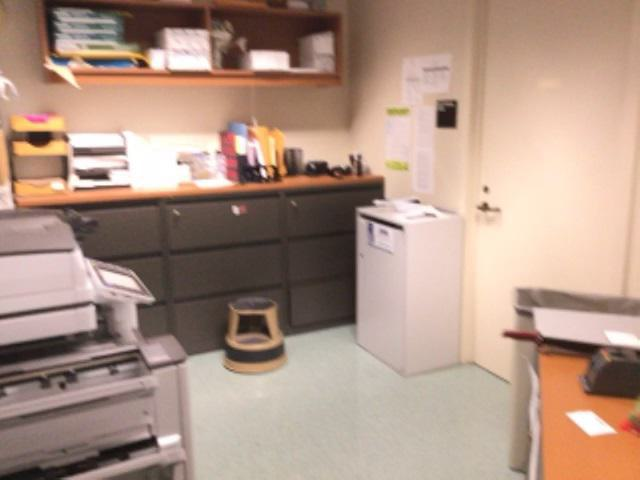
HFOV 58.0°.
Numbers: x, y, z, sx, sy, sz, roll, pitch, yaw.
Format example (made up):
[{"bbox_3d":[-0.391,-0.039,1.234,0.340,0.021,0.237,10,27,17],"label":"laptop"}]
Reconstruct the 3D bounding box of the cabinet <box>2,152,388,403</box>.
[{"bbox_3d":[-0.660,0.110,3.680,2.240,1.150,0.530,-9,14,-26],"label":"cabinet"}]

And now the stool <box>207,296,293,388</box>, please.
[{"bbox_3d":[-0.410,0.580,3.380,0.380,0.360,0.350,-9,14,-26],"label":"stool"}]
